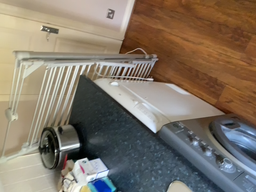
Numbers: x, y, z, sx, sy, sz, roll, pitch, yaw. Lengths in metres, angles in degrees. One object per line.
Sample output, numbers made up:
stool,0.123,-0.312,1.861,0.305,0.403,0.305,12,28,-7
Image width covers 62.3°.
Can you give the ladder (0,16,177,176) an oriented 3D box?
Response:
ladder,-0.330,0.000,1.640,0.460,1.280,0.820,39,117,40
